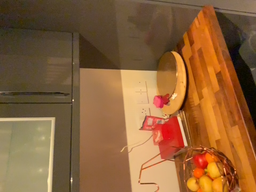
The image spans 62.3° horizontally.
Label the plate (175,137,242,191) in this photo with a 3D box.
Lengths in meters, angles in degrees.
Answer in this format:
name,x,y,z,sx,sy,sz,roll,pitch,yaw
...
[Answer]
name,x,y,z,sx,sy,sz,roll,pitch,yaw
plate,0.320,0.340,0.880,0.270,0.090,0.270,118,149,-60
